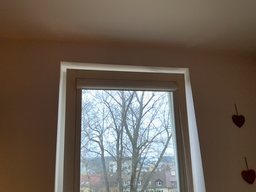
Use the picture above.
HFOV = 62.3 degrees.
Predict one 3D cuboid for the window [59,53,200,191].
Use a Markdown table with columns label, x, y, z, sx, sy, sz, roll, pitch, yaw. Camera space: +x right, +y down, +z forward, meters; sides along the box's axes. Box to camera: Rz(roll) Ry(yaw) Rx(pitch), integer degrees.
| label | x | y | z | sx | sy | sz | roll | pitch | yaw |
| --- | --- | --- | --- | --- | --- | --- | --- | --- | --- |
| window | 0.010 | 0.580 | 1.270 | 0.800 | 1.670 | 0.230 | 1 | -16 | -15 |
